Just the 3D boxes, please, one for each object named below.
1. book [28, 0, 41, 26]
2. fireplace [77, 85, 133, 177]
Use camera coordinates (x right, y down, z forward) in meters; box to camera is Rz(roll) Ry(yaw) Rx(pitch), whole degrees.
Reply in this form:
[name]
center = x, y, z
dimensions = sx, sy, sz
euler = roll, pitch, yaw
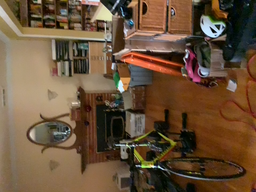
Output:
[book]
center = -1.730, -1.670, 3.910
dimensions = 0.180, 0.200, 0.680
euler = -171, 79, -71
[fireplace]
center = -0.490, 0.700, 4.630
dimensions = 0.410, 1.120, 1.870
euler = -167, 76, -71
